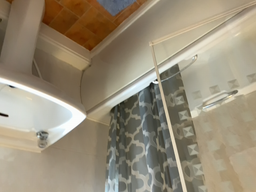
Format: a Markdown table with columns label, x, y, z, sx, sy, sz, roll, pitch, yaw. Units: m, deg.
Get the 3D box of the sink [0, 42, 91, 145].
| label | x | y | z | sx | sy | sz | roll | pitch | yaw |
| --- | --- | --- | --- | --- | --- | --- | --- | --- | --- |
| sink | -0.520 | 0.010 | 0.940 | 0.400 | 0.190 | 0.580 | -30 | 141 | 32 |
